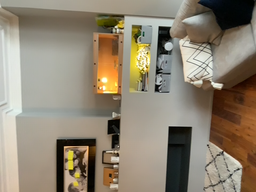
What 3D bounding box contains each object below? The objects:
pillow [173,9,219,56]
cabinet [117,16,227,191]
[{"bbox_3d":[0.780,-0.710,2.440,0.170,0.430,0.380,68,-168,20],"label":"pillow"},{"bbox_3d":[0.580,1.260,3.440,0.320,1.470,4.740,-131,43,-80],"label":"cabinet"}]
